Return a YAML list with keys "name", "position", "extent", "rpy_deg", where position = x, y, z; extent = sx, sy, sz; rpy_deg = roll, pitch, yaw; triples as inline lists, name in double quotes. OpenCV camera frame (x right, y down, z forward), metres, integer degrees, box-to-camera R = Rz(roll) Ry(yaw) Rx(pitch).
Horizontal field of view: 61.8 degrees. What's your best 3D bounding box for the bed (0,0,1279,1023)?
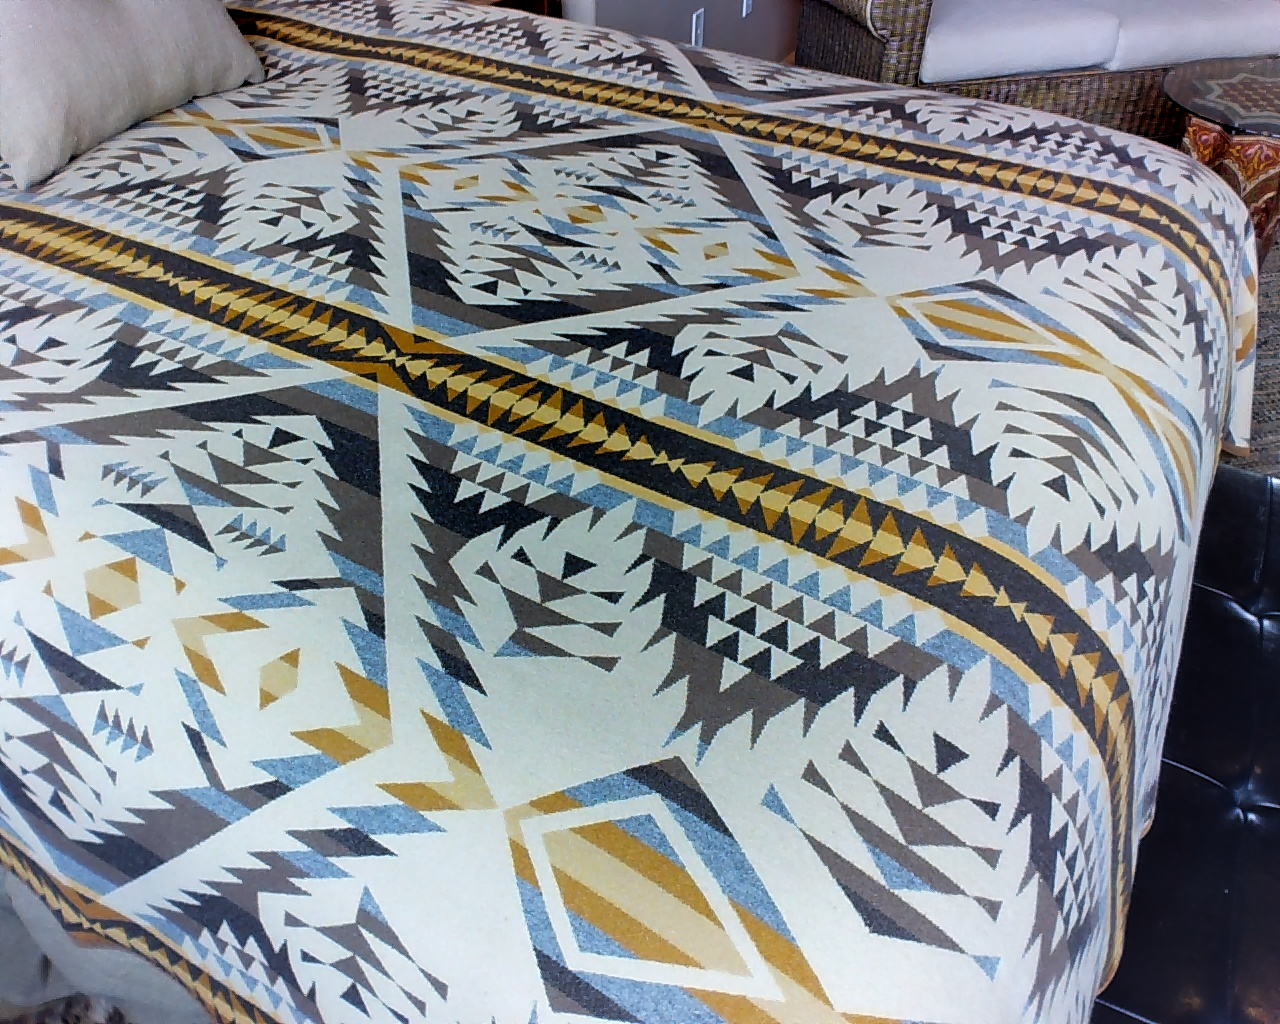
- name: "bed"
  position: [-0.270, -0.090, 1.640]
  extent: [2.190, 0.850, 1.880]
  rpy_deg: [21, 46, 22]
